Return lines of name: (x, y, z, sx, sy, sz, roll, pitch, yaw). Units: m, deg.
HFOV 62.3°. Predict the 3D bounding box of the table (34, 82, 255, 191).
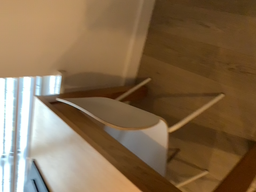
table: (0.040, 0.550, 1.310, 0.940, 0.780, 0.910, 32, 118, 34)
